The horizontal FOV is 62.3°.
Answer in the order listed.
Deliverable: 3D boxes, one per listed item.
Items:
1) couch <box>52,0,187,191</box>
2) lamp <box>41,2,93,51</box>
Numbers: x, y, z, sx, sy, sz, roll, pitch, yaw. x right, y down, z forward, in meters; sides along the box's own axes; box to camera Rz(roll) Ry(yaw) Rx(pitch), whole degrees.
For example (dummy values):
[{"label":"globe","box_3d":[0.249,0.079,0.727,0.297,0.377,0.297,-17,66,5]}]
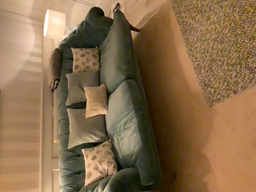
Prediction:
[{"label":"couch","box_3d":[-0.300,0.070,2.550,1.140,0.900,2.360,-39,53,48]},{"label":"lamp","box_3d":[-0.940,-1.030,3.220,0.450,0.640,0.350,-42,50,47]}]
